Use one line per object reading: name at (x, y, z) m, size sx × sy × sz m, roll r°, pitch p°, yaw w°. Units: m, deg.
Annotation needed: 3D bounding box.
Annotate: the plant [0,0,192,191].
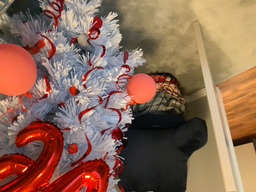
plant at (-0.390, 0.500, 0.920) m, size 0.920 × 2.110 × 1.040 m, roll -25°, pitch 141°, yaw 37°
